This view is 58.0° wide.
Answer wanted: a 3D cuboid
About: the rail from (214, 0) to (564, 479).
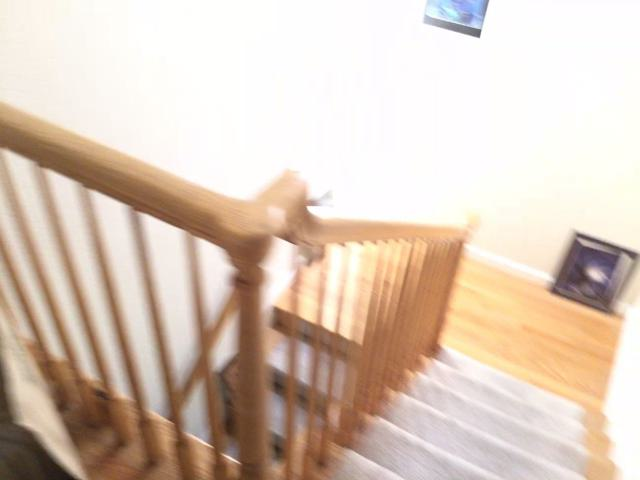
[{"bbox_3d":[0.270,0.220,1.940,0.160,1.730,1.680,24,42,21],"label":"rail"}]
